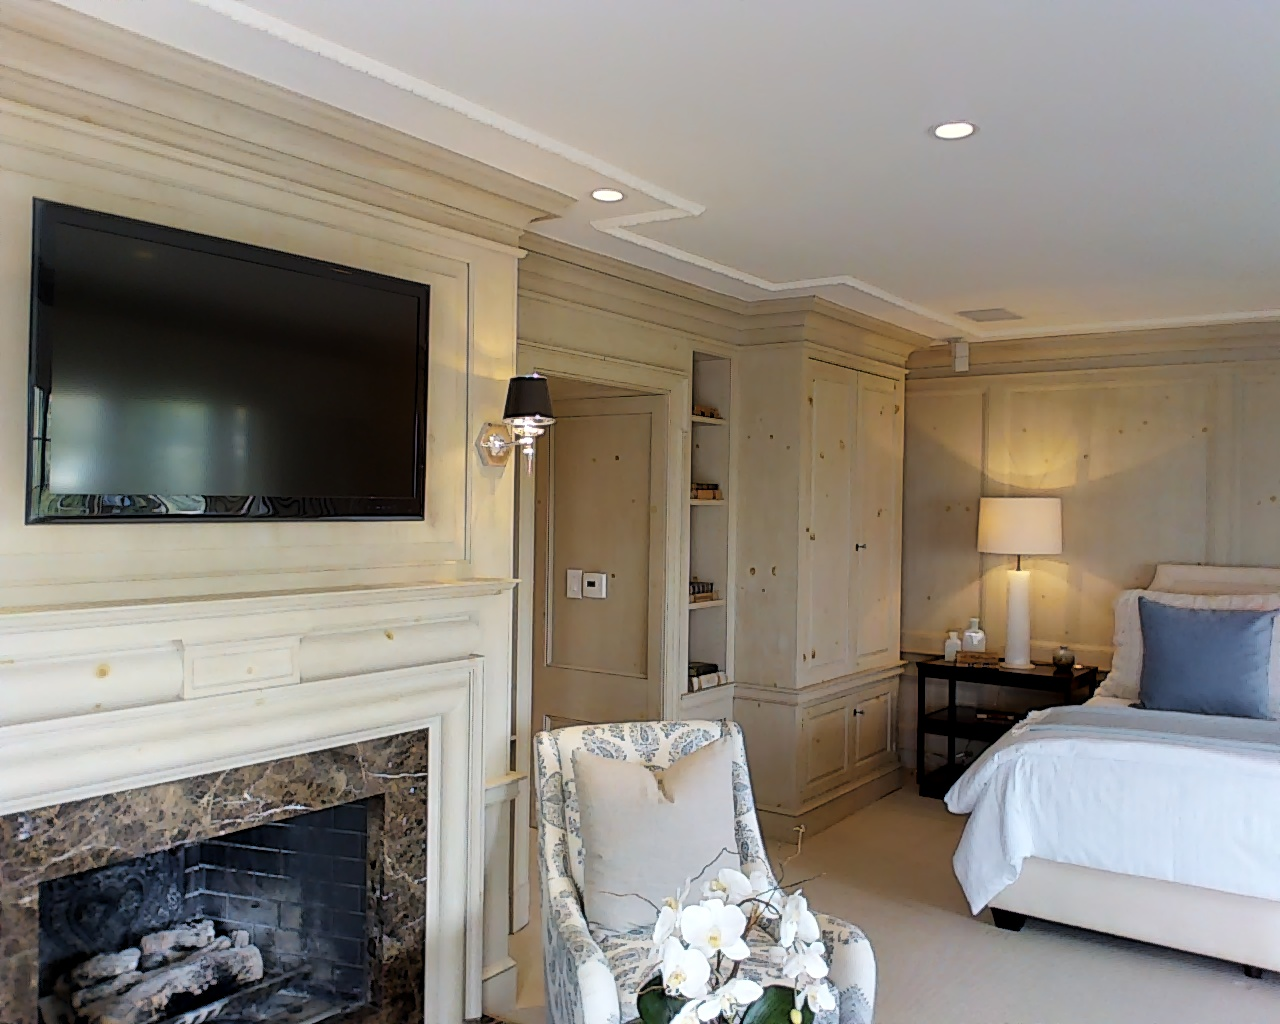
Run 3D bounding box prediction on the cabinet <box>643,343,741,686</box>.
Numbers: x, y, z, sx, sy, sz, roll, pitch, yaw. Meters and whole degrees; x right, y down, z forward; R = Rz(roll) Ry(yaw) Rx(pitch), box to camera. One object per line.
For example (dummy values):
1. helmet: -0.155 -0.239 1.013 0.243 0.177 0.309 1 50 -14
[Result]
1. cabinet: 0.250 0.010 5.110 0.310 1.550 0.350 1 0 35
